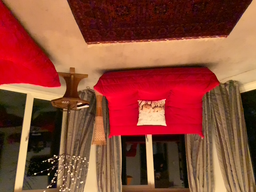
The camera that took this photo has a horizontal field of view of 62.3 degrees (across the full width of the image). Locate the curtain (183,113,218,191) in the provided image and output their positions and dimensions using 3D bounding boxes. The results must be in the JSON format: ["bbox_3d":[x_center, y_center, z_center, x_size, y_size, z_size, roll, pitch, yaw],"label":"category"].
[{"bbox_3d":[1.180,0.970,3.490,0.370,1.330,0.220,-4,163,7],"label":"curtain"}]

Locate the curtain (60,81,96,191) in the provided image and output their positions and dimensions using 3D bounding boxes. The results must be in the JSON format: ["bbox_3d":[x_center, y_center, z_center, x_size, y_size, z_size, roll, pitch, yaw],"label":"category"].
[{"bbox_3d":[-0.830,0.740,3.620,0.480,1.950,0.260,9,160,-30],"label":"curtain"}]

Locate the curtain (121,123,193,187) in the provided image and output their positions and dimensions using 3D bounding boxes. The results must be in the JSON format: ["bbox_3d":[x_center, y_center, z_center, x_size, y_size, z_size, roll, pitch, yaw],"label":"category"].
[{"bbox_3d":[0.500,1.080,3.940,1.240,1.100,0.130,-3,163,6],"label":"curtain"}]

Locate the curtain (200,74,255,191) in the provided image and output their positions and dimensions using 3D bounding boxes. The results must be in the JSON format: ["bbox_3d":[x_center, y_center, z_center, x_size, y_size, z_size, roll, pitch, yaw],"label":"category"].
[{"bbox_3d":[1.550,0.630,3.320,0.520,1.880,0.230,-15,158,37],"label":"curtain"}]

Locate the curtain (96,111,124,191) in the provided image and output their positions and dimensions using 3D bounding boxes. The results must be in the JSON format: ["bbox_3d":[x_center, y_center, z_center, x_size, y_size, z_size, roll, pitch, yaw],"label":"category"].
[{"bbox_3d":[-0.300,1.010,3.650,0.420,1.470,0.250,-3,163,3],"label":"curtain"}]
